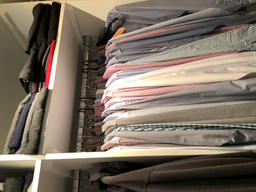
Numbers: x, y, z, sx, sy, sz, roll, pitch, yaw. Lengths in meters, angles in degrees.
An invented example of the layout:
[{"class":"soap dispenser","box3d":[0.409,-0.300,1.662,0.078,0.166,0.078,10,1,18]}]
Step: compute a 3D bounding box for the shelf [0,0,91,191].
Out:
[{"class":"shelf","box3d":[-0.490,-0.050,1.120,0.550,0.380,2.310,86,-177,-65]}]
